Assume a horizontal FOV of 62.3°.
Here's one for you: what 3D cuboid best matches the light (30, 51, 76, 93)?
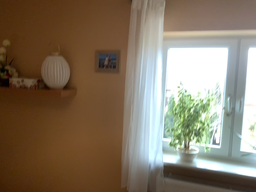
[{"bbox_3d":[-0.760,-0.240,2.170,0.330,0.390,0.290,4,5,19],"label":"light"}]
